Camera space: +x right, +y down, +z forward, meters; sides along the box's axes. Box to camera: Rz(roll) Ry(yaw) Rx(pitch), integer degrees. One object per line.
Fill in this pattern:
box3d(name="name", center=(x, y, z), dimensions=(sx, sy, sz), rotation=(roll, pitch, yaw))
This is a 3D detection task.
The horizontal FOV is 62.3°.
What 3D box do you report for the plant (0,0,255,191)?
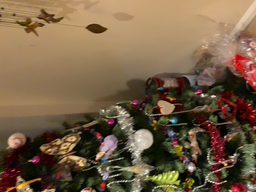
box3d(name="plant", center=(0.080, 0.300, 1.230), dimensions=(1.100, 1.690, 1.160), rotation=(9, 99, 62))
